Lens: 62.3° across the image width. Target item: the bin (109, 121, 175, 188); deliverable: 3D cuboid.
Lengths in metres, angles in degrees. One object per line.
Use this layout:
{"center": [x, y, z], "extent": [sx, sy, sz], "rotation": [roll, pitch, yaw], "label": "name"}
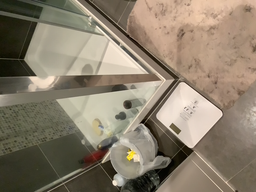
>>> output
{"center": [0.090, 0.360, 1.360], "extent": [0.270, 0.230, 0.240], "rotation": [46, 117, 20], "label": "bin"}
